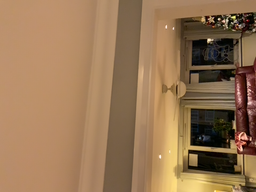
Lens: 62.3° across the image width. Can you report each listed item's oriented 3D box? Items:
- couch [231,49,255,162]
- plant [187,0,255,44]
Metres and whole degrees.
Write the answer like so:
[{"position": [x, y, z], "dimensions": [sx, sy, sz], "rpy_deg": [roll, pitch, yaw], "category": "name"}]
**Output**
[{"position": [2.680, 0.240, 4.300], "dimensions": [1.130, 0.860, 2.070], "rpy_deg": [36, -124, -69], "category": "couch"}, {"position": [2.410, -1.970, 5.040], "dimensions": [0.920, 1.910, 1.010], "rpy_deg": [36, -123, -69], "category": "plant"}]
